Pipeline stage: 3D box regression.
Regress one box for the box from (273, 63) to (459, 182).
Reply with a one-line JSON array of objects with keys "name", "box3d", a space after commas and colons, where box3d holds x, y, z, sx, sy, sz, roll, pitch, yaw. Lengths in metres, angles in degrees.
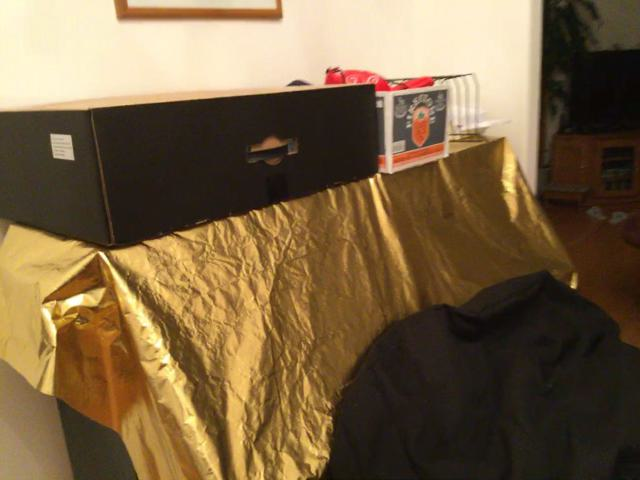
[{"name": "box", "box3d": [0.140, -0.330, 1.580, 0.300, 0.260, 0.420, 9, 20, 41]}]
